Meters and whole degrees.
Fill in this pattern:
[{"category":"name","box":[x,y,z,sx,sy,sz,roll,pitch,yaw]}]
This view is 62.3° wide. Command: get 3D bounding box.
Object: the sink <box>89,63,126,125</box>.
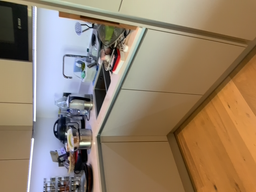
[{"category":"sink","box":[-0.210,-0.010,1.970,0.390,0.190,0.410,117,149,-45]}]
